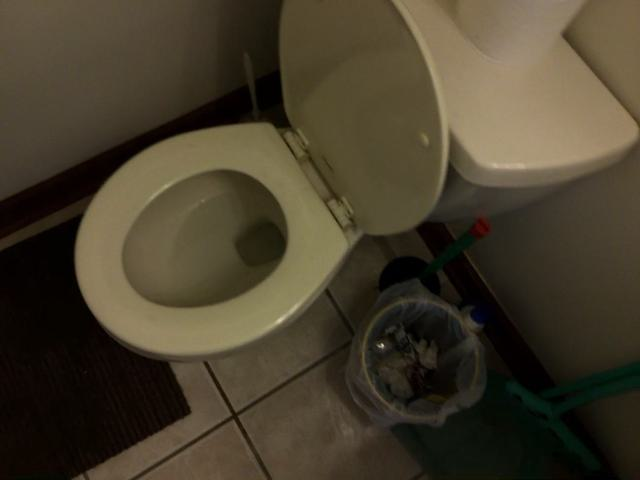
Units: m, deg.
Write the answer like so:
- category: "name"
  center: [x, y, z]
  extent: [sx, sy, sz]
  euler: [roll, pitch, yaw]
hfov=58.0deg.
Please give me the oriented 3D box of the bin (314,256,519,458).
- category: "bin"
  center: [0.170, 0.230, 1.130]
  extent: [0.250, 0.260, 0.220]
  euler: [-30, -12, -13]
